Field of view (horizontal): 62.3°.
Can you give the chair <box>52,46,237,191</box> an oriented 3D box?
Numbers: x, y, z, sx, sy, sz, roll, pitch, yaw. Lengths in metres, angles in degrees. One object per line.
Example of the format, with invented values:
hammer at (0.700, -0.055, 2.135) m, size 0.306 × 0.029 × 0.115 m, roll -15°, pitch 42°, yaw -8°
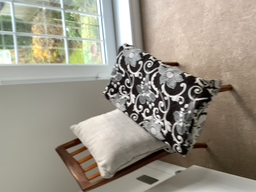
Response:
chair at (0.100, 0.090, 1.230) m, size 0.450 × 0.860 × 0.570 m, roll 40°, pitch 124°, yaw 39°
